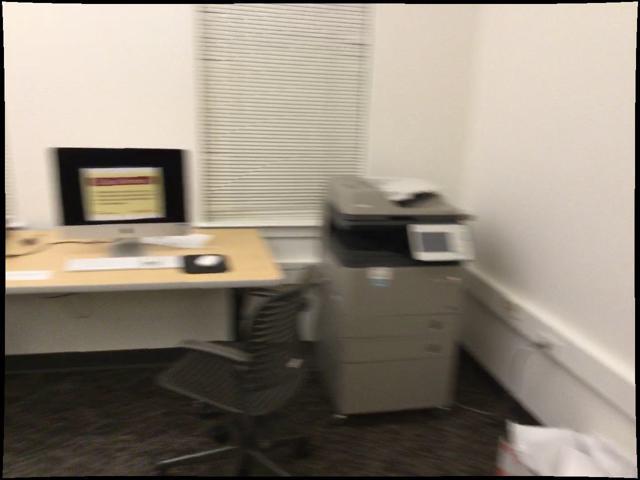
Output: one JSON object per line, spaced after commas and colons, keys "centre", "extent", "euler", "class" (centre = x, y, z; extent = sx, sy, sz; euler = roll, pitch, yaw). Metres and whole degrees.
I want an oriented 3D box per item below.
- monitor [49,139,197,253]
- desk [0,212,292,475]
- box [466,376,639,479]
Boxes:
{"centre": [-0.799, -0.190, 2.410], "extent": [0.539, 0.420, 0.220], "euler": [-2, 18, -16], "class": "monitor"}
{"centre": [-0.939, 0.370, 2.500], "extent": [1.459, 0.771, 0.820], "euler": [-2, 18, -16], "class": "desk"}
{"centre": [0.889, 0.841, 2.180], "extent": [0.340, 0.320, 0.670], "euler": [-2, 18, -16], "class": "box"}
